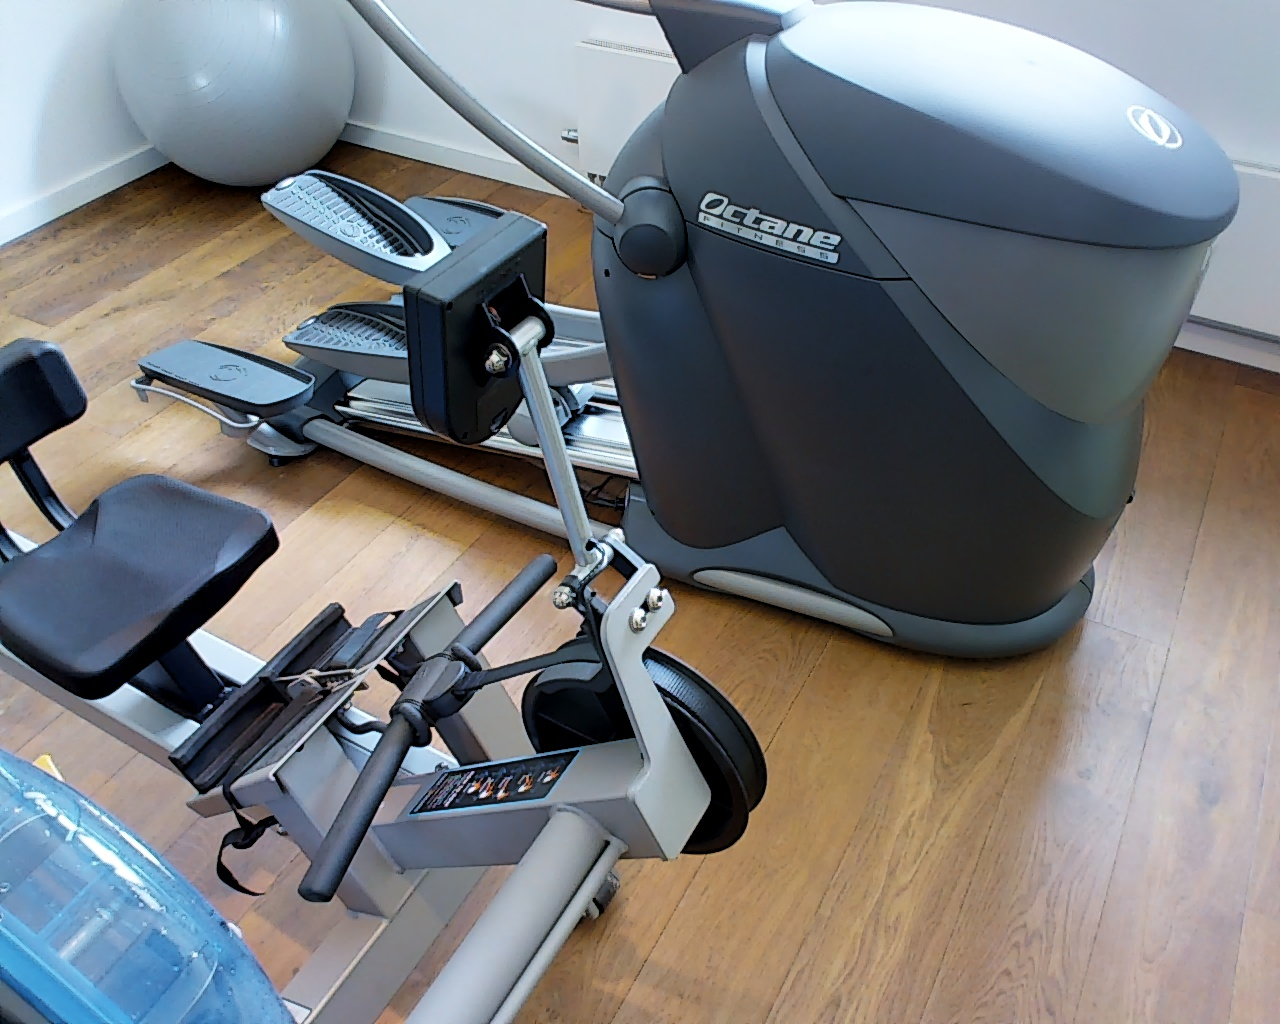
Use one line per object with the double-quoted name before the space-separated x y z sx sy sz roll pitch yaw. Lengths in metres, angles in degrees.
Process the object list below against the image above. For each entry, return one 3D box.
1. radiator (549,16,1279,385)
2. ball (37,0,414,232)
"radiator" 0.900 -0.730 2.600 2.560 0.490 0.110 20 45 22
"ball" -1.200 -1.350 3.190 0.680 0.660 0.680 21 45 22
